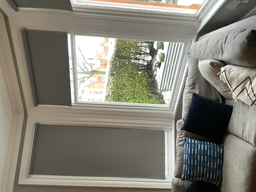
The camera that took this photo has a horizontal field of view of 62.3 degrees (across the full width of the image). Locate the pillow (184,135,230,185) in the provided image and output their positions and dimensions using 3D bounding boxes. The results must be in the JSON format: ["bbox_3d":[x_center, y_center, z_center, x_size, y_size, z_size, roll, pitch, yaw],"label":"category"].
[{"bbox_3d":[0.850,0.680,2.300,0.200,0.400,0.390,-154,56,-74],"label":"pillow"}]

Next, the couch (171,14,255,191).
[{"bbox_3d":[1.030,0.700,2.300,0.890,0.750,2.770,-123,38,-82],"label":"couch"}]
